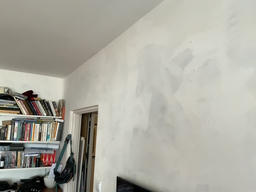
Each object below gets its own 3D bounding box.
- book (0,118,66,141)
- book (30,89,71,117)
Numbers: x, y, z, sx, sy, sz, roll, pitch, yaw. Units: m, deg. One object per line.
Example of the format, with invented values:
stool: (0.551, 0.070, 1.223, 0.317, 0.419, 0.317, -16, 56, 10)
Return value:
book: (-1.210, 0.410, 2.560, 0.860, 0.250, 0.150, 7, -11, -29)
book: (-0.990, 0.100, 2.720, 0.450, 0.310, 0.150, 7, -11, -29)
